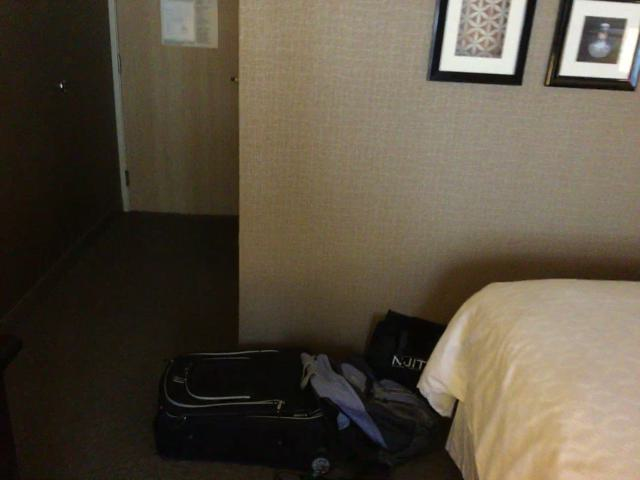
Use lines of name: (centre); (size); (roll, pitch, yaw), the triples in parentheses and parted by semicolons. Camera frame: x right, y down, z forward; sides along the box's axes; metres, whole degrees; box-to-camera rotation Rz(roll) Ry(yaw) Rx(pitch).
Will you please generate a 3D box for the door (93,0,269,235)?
door: (-0.860, -1.120, 3.660); (1.010, 2.110, 0.300); (4, 17, 0)
